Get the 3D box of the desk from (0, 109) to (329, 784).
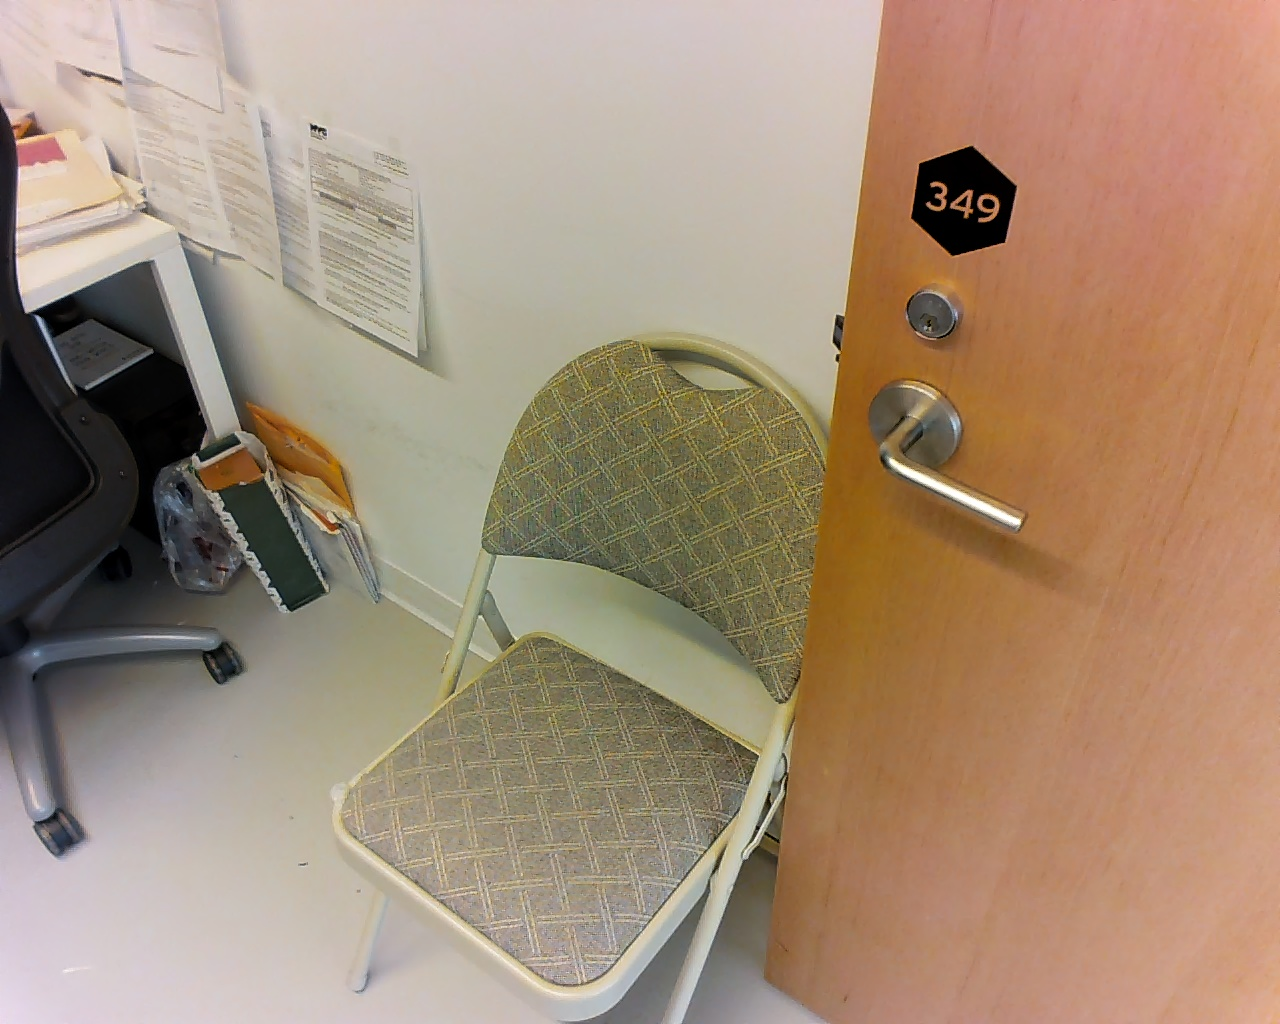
[{"bbox_3d":[-1.350,0.010,1.710,0.750,0.750,1.350,26,48,28],"label":"desk"}]
